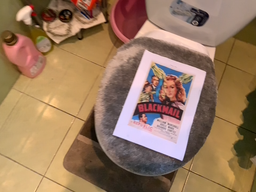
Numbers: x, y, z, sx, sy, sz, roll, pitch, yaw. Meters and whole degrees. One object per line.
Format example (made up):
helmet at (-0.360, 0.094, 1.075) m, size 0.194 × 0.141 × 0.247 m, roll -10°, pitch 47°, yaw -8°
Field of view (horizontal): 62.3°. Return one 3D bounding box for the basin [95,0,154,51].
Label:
basin at (-0.010, -0.450, 1.170) m, size 0.220 × 0.140 × 0.310 m, roll 22°, pitch 74°, yaw 4°

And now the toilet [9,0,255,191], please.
toilet at (0.140, -0.090, 0.740) m, size 0.390 × 0.740 × 0.720 m, roll 24°, pitch 74°, yaw 4°
